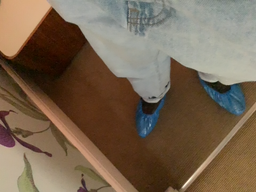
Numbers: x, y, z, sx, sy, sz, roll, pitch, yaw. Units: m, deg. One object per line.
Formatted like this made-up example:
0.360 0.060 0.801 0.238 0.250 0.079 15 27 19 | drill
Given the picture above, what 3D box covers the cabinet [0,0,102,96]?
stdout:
-0.530 -0.370 1.090 0.550 0.390 0.430 43 93 16 | cabinet
